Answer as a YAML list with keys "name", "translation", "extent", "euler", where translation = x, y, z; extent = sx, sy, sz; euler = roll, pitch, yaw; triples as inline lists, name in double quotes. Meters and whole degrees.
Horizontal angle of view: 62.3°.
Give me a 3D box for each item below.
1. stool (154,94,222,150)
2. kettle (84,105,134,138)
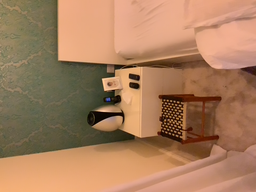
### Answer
- name: "stool"
  translation: [0.470, 0.180, 1.700]
  extent: [0.330, 0.390, 0.350]
  euler: [11, 101, 59]
- name: "kettle"
  translation: [-0.190, 0.230, 2.060]
  extent: [0.290, 0.390, 0.240]
  euler: [8, 98, 59]
